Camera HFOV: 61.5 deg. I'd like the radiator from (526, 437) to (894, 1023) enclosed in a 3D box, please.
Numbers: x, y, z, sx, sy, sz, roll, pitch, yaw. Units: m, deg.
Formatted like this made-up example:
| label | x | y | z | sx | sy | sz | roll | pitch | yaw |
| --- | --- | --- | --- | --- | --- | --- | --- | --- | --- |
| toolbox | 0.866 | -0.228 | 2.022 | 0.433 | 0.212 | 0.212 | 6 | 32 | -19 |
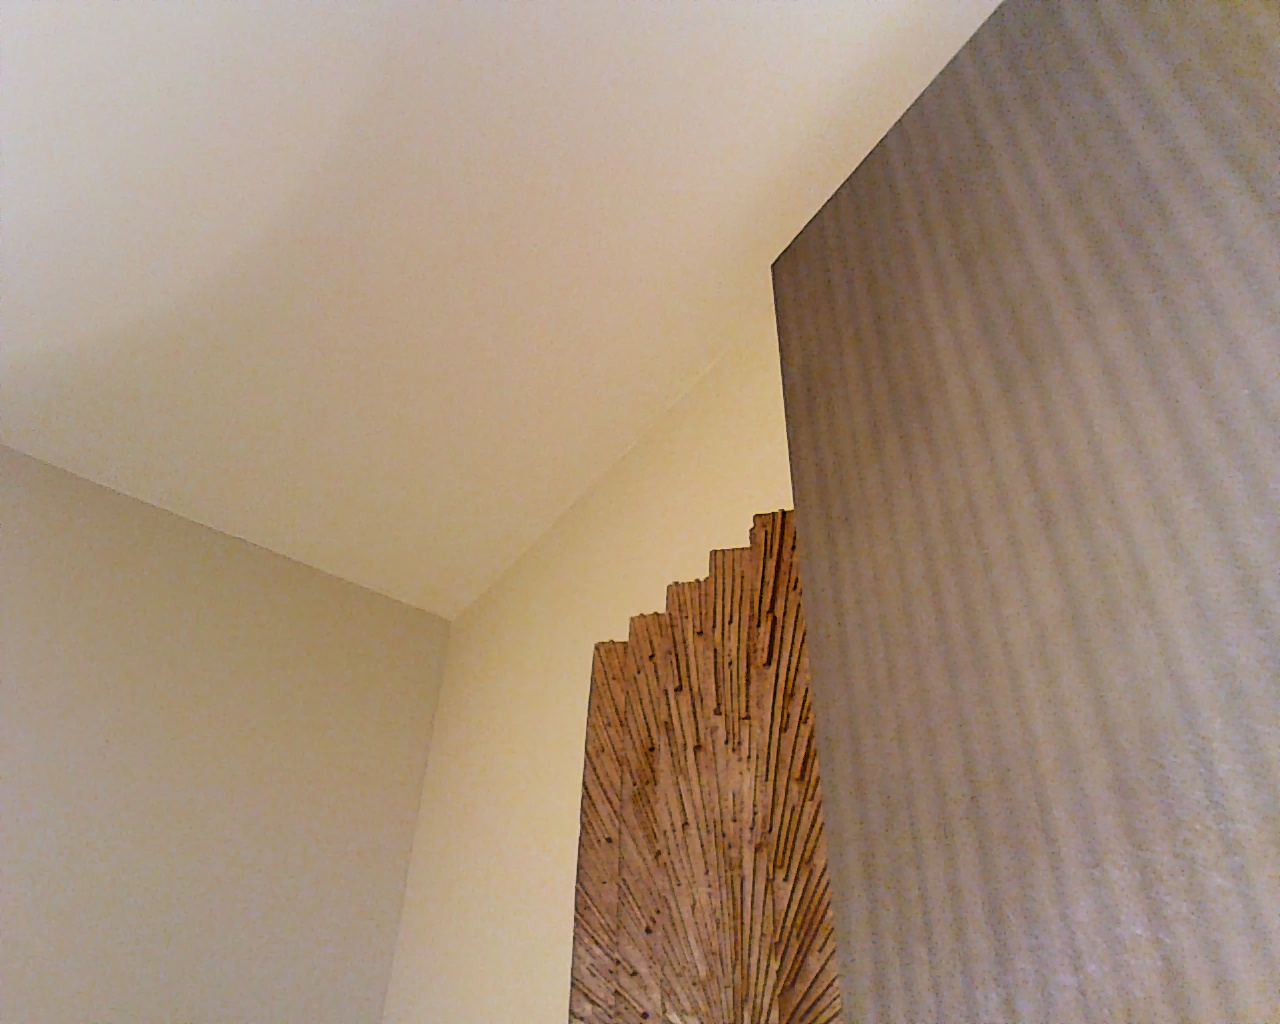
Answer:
| label | x | y | z | sx | sy | sz | roll | pitch | yaw |
| --- | --- | --- | --- | --- | --- | --- | --- | --- | --- |
| radiator | 0.040 | 0.460 | 1.090 | 0.070 | 1.070 | 0.500 | 25 | -46 | -24 |
